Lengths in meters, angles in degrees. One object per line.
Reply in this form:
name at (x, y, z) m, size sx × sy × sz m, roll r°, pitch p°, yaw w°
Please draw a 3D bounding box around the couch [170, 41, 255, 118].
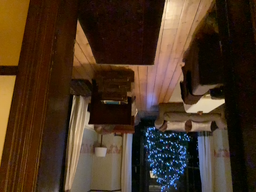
couch at (1.610, -0.180, 3.110) m, size 1.820 × 0.810 × 0.970 m, roll 2°, pitch 165°, yaw 4°
